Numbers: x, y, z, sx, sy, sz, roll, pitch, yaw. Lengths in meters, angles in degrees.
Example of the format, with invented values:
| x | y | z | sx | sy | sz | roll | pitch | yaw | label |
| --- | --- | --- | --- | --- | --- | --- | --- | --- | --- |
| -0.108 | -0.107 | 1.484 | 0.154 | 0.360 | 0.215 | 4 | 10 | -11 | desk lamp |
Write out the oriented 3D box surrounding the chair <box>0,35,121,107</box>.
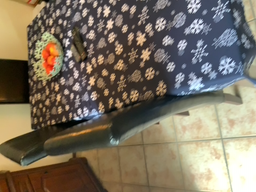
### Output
| x | y | z | sx | sy | sz | roll | pitch | yaw | label |
| --- | --- | --- | --- | --- | --- | --- | --- | --- | --- |
| -0.660 | -0.140 | 1.990 | 0.530 | 1.090 | 0.430 | -13 | 79 | 43 | chair |

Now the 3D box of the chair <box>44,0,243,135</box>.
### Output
| x | y | z | sx | sy | sz | roll | pitch | yaw | label |
| --- | --- | --- | --- | --- | --- | --- | --- | --- | --- |
| 0.180 | -0.120 | 1.170 | 0.430 | 1.090 | 0.530 | -16 | 77 | 43 | chair |
